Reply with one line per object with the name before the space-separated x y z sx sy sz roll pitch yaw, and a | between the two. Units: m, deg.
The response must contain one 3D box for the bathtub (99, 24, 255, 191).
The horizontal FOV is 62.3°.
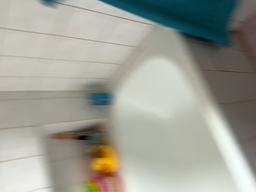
bathtub | 0.440 0.410 1.140 0.660 0.630 1.340 -42 60 44
